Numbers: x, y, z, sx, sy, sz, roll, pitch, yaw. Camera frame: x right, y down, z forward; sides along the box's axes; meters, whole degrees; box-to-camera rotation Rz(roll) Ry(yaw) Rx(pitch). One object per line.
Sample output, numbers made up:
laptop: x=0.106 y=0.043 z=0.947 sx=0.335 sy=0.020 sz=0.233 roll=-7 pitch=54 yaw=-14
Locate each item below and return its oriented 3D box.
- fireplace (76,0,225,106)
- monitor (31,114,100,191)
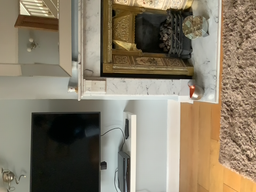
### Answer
fireplace: x=0.140 y=-0.620 z=1.890 sx=0.680 sy=1.140 sz=1.350 roll=-172 pitch=82 yaw=-73
monitor: x=-0.510 y=0.620 z=1.760 sx=0.040 sy=0.540 sz=0.930 roll=163 pitch=107 yaw=-72
